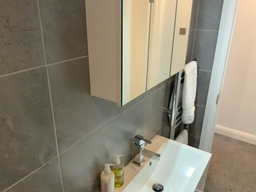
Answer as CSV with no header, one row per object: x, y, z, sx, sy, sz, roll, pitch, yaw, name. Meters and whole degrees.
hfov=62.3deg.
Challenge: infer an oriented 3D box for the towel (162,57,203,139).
0.390,0.000,1.520,0.150,0.490,0.320,13,26,26,towel
